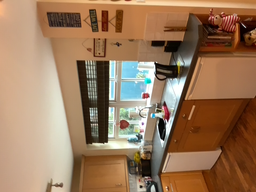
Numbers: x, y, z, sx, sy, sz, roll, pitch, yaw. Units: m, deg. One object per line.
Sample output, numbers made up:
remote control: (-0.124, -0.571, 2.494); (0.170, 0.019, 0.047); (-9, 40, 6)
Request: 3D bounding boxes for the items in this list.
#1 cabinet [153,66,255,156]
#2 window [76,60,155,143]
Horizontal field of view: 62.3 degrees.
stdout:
cabinet: (0.940, 0.220, 2.950); (0.650, 0.920, 1.080); (-98, 10, -49)
window: (-0.220, 0.190, 3.490); (0.090, 1.060, 1.760); (-97, 9, -48)
